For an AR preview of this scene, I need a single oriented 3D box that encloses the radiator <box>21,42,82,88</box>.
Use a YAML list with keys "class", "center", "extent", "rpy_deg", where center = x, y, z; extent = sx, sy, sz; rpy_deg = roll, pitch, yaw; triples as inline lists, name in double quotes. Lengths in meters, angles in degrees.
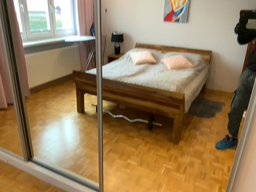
- class: "radiator"
  center: [-1.490, -0.710, 4.440]
  extent: [0.180, 0.640, 1.500]
  rpy_deg: [12, 24, 22]
